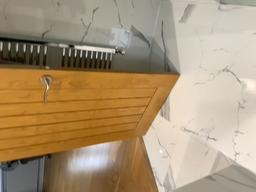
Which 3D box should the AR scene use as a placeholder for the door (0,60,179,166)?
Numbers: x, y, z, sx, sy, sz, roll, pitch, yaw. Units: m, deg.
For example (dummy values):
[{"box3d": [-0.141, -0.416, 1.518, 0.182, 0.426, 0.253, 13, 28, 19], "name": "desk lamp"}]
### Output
[{"box3d": [-0.580, 0.140, 1.230, 0.050, 1.980, 0.780, 56, 134, 35], "name": "door"}]
